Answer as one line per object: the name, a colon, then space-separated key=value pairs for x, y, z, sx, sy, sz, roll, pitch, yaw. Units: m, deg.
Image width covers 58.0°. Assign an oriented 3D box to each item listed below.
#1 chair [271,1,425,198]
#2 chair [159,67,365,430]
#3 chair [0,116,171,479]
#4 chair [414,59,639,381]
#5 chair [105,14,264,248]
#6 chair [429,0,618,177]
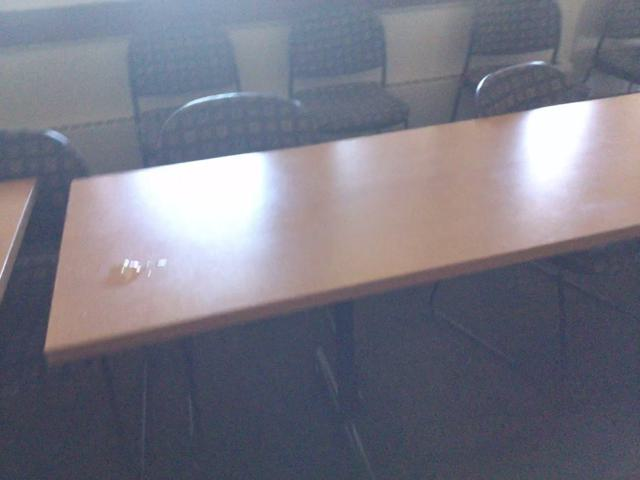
chair: x=0.100 y=-0.640 z=2.530 sx=0.490 sy=0.710 sz=0.560 roll=-8 pitch=26 yaw=-12
chair: x=-0.160 y=-0.020 z=1.500 sx=0.390 sy=0.730 sz=0.560 roll=-8 pitch=26 yaw=-12
chair: x=-0.690 y=0.160 z=1.390 sx=0.530 sy=0.760 sz=0.510 roll=-8 pitch=26 yaw=-12
chair: x=0.620 y=-0.090 z=1.660 sx=0.510 sy=0.730 sz=0.500 roll=-8 pitch=26 yaw=-12
chair: x=-0.540 y=-0.480 z=2.360 sx=0.460 sy=0.770 sz=0.650 roll=-8 pitch=26 yaw=-12
chair: x=0.860 y=-0.750 z=2.610 sx=0.460 sy=0.710 sz=0.660 roll=-8 pitch=26 yaw=-12
